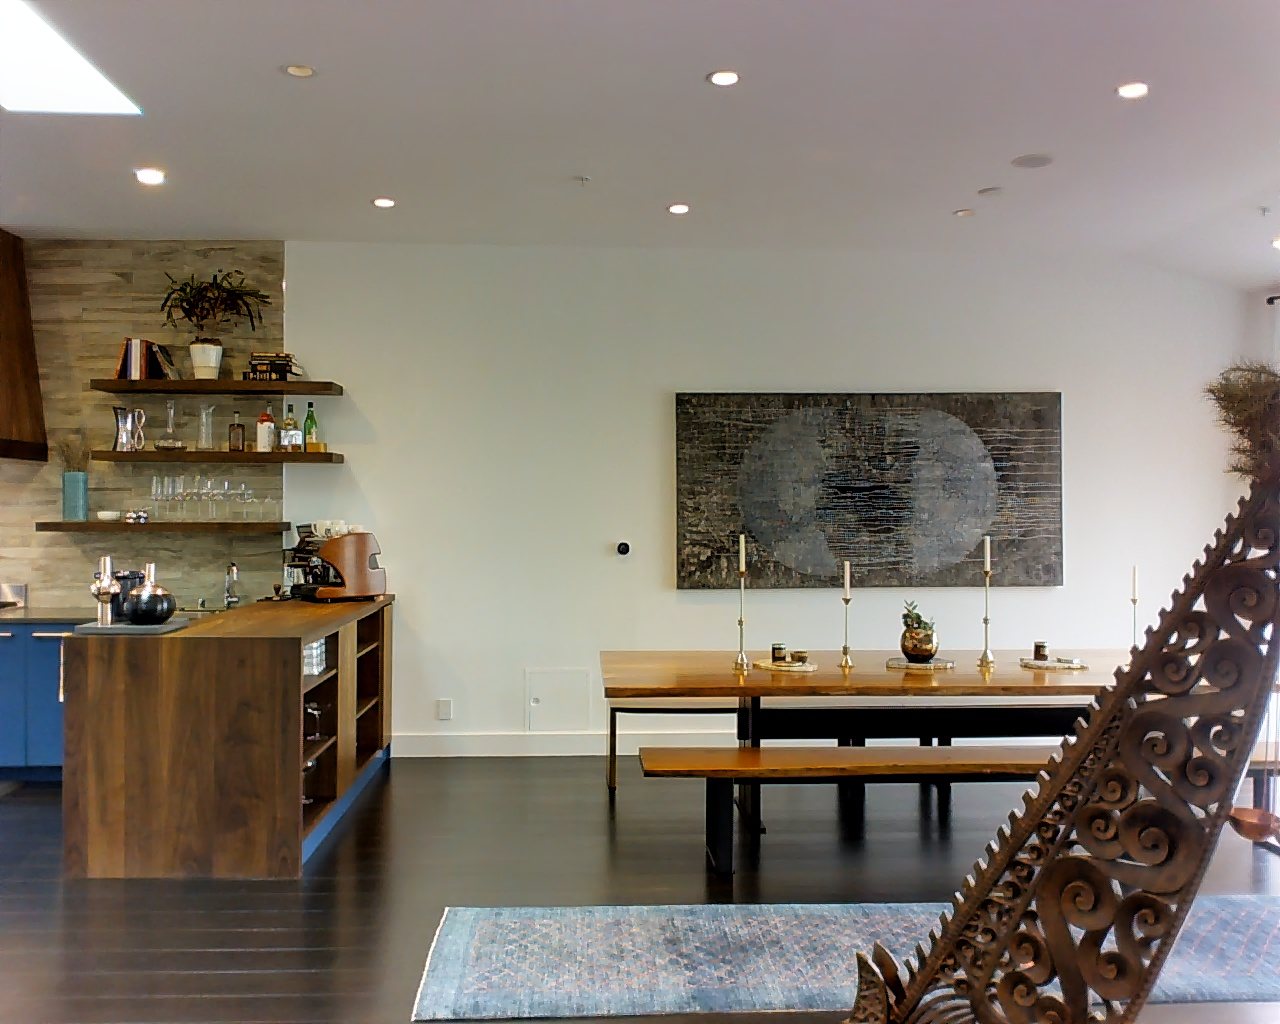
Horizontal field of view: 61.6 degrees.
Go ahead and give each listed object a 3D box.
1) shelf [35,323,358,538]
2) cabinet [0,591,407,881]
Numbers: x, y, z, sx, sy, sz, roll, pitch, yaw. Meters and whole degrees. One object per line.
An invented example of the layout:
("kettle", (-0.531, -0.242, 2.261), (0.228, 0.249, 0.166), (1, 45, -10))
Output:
("shelf", (-2.620, -0.470, 6.420), (1.780, 1.240, 0.330), (0, 0, -3))
("cabinet", (-3.130, 1.000, 5.480), (3.470, 1.030, 2.190), (0, 0, -2))
